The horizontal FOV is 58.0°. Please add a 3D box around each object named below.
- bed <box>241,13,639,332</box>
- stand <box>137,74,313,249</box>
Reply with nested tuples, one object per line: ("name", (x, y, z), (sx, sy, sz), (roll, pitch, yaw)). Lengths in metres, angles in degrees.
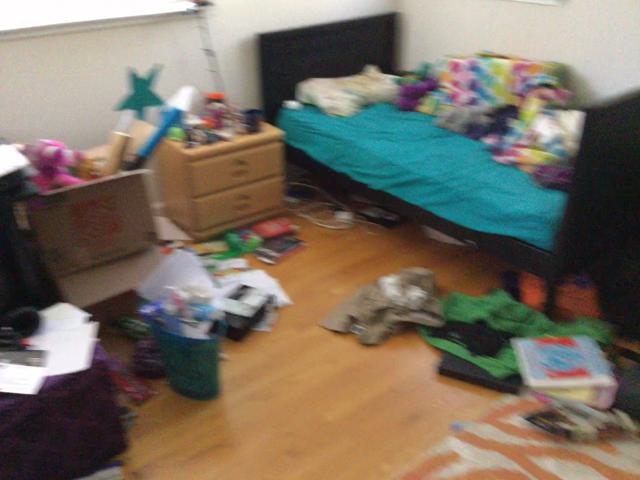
("bed", (0.640, -0.570, 2.890), (1.150, 0.960, 1.970), (-19, 29, -32))
("stand", (-0.480, -0.450, 3.060), (0.690, 0.710, 0.510), (-19, 29, -32))
